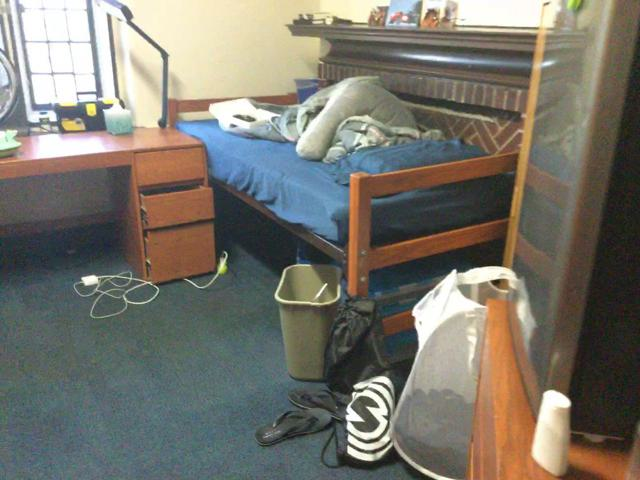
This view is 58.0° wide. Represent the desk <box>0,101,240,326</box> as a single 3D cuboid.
[{"bbox_3d":[-1.210,-0.230,3.100,1.280,0.860,0.870,-11,23,-30],"label":"desk"}]

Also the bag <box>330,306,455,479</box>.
[{"bbox_3d":[0.240,0.490,1.890,0.280,0.390,0.340,11,22,25],"label":"bag"}]

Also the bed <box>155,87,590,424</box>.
[{"bbox_3d":[0.020,-0.200,2.980,1.040,0.920,2.160,-11,23,-30],"label":"bed"}]
